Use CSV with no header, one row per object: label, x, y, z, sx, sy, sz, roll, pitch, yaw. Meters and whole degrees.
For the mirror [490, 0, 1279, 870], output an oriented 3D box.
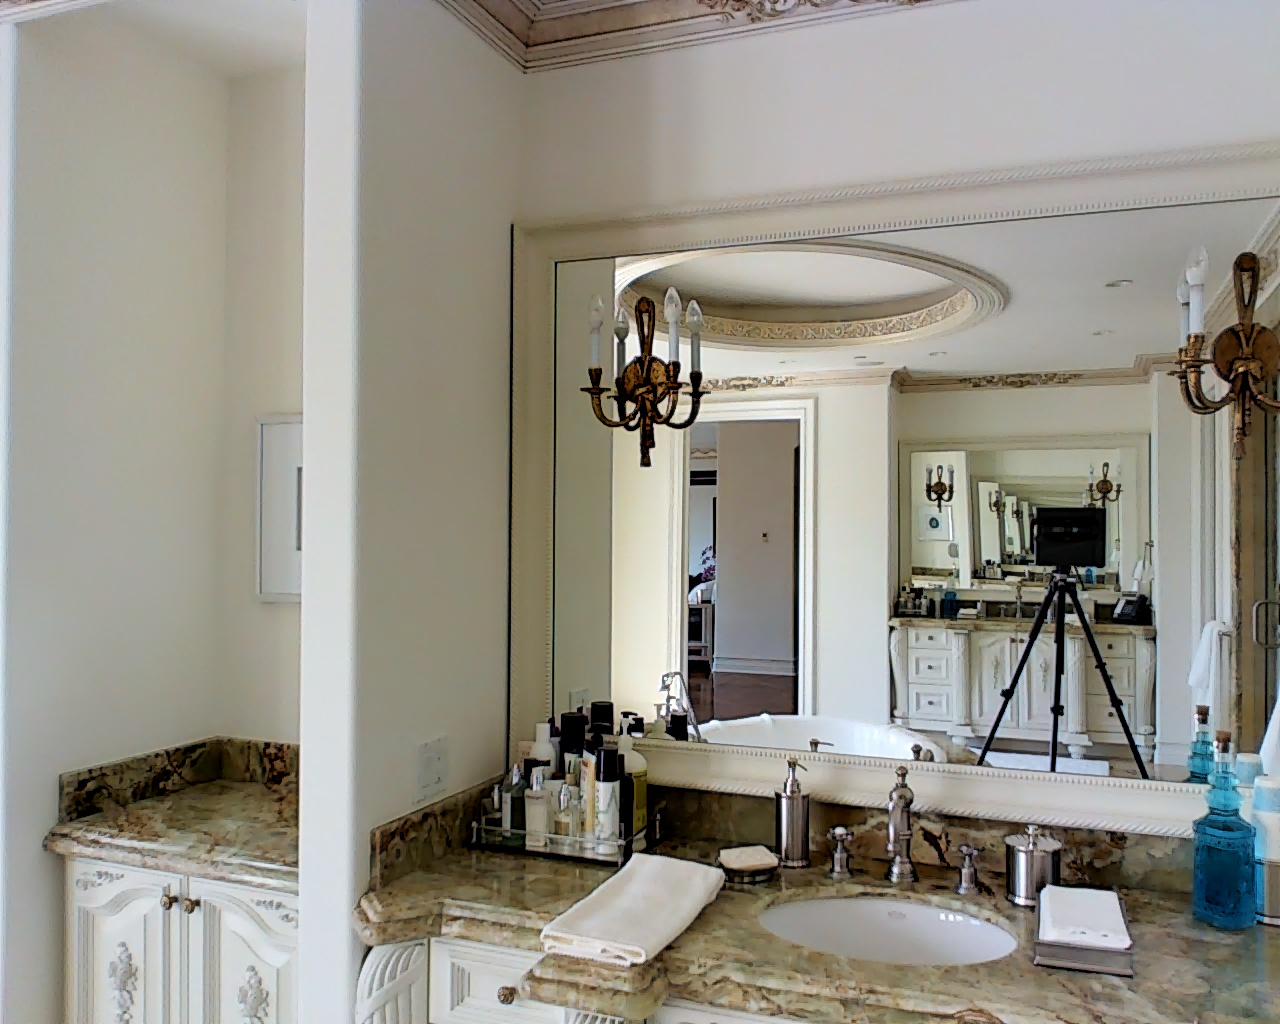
mirror,0.590,-0.230,2.150,1.780,1.630,0.410,0,-1,22
